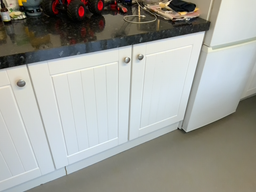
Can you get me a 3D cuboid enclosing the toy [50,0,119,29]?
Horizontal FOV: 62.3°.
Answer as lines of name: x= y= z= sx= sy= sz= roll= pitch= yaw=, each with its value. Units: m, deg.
toy: x=-0.260 y=-0.530 z=1.220 sx=0.310 sy=0.160 sz=0.300 roll=-16 pitch=40 yaw=-23
